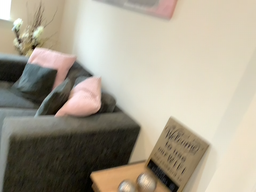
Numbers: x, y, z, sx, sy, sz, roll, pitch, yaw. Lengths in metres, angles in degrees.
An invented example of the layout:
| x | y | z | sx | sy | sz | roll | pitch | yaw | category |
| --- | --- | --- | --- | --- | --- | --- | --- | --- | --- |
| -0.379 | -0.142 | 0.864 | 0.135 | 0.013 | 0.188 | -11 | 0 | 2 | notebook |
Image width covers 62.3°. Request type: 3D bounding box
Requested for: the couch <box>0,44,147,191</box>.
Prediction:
| x | y | z | sx | sy | sz | roll | pitch | yaw | category |
| --- | --- | --- | --- | --- | --- | --- | --- | --- | --- |
| -0.760 | 0.130 | 1.930 | 0.970 | 0.730 | 1.520 | 1 | 25 | -38 | couch |

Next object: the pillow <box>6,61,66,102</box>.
| x | y | z | sx | sy | sz | roll | pitch | yaw | category |
| --- | --- | --- | --- | --- | --- | --- | --- | --- | --- |
| -0.880 | -0.130 | 2.030 | 0.480 | 0.350 | 0.130 | 1 | 33 | 28 | pillow |

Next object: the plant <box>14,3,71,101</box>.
| x | y | z | sx | sy | sz | roll | pitch | yaw | category |
| --- | --- | --- | --- | --- | --- | --- | --- | --- | --- |
| -1.140 | -0.530 | 2.750 | 0.480 | 1.120 | 0.390 | 3 | 24 | -34 | plant |
